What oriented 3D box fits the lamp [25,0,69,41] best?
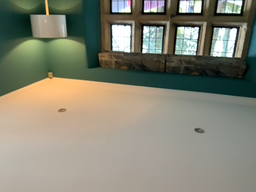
[{"bbox_3d":[-1.180,-1.730,2.950,0.520,1.820,0.540,-6,-158,-19],"label":"lamp"}]
